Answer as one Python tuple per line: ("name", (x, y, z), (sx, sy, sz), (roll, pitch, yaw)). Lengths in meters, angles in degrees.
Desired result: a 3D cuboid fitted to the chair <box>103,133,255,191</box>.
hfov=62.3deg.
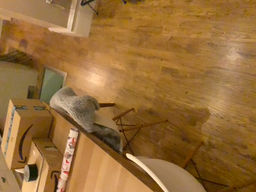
("chair", (0.310, 0.480, 1.060), (0.400, 0.780, 0.410), (30, 107, 44))
